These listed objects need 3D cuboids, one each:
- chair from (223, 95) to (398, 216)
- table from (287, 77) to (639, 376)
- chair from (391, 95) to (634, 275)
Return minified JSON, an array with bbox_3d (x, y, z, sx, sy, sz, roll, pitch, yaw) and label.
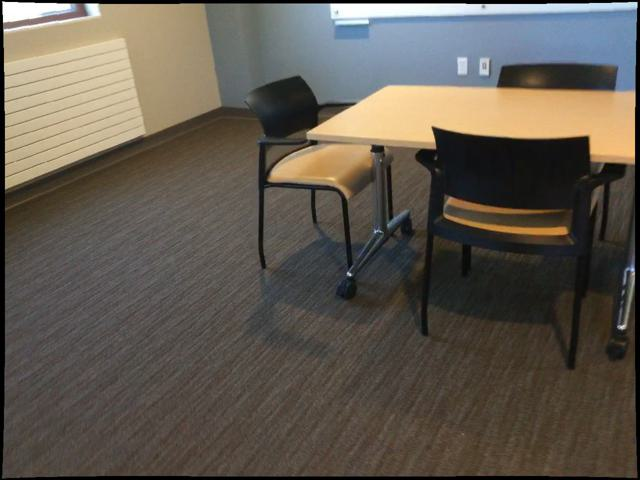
[{"bbox_3d":[-0.020,-0.411,2.600,0.529,0.331,0.590,10,31,30],"label":"chair"},{"bbox_3d":[0.708,-0.180,2.350,1.318,0.742,0.910,10,31,30],"label":"table"},{"bbox_3d":[0.658,-0.231,1.980,0.649,0.391,0.520,10,31,30],"label":"chair"}]
